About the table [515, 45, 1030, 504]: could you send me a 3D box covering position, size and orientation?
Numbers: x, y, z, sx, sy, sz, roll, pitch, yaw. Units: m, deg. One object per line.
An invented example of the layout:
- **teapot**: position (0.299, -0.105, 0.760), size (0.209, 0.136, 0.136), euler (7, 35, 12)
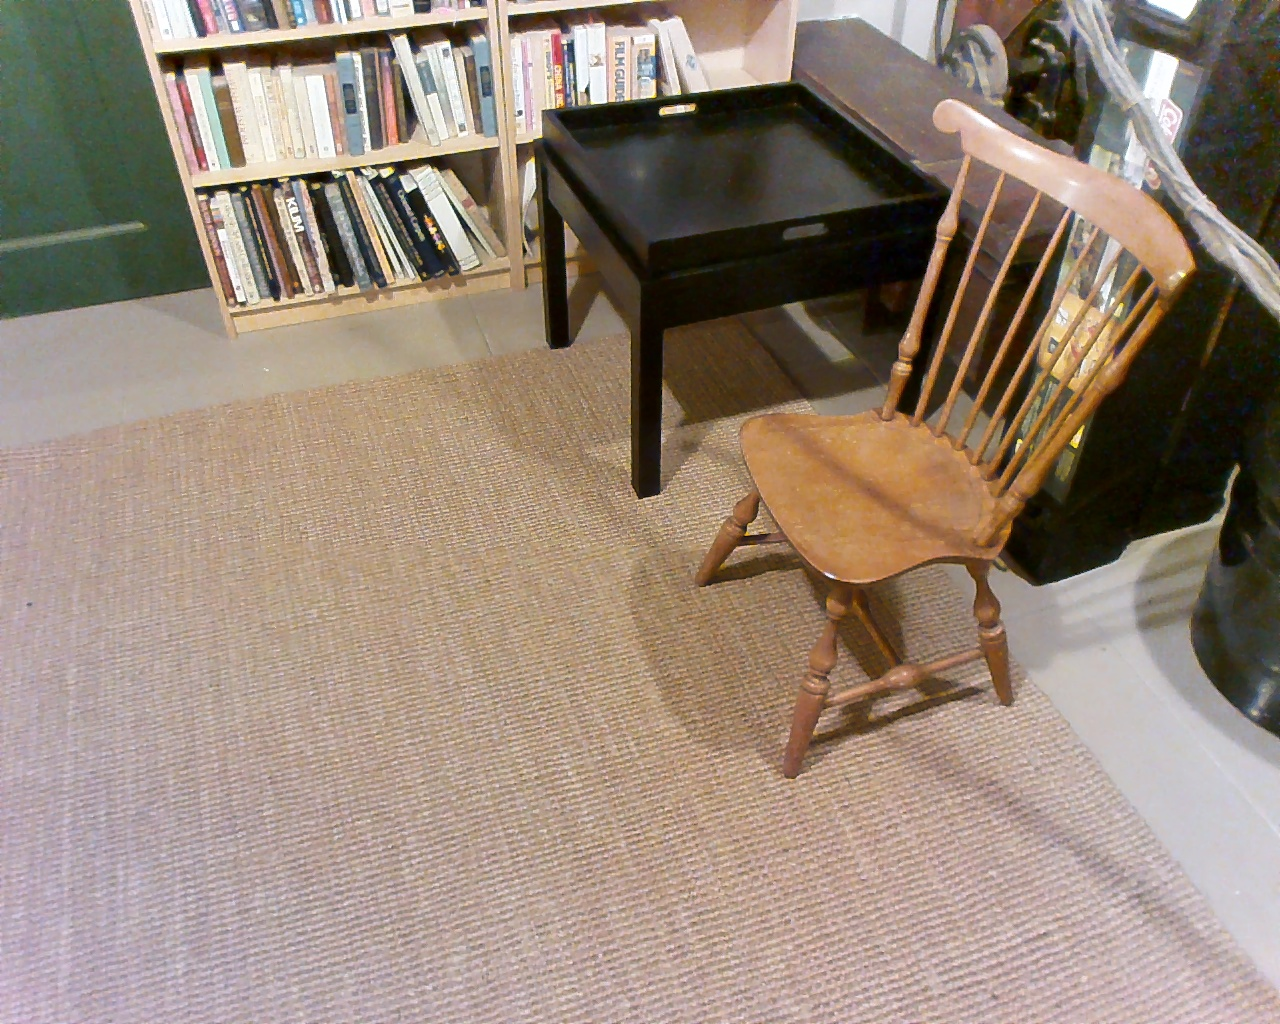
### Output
- **table**: position (0.240, -0.610, 2.560), size (0.840, 0.610, 0.870), euler (-13, 44, -15)
